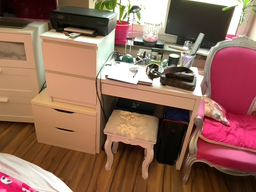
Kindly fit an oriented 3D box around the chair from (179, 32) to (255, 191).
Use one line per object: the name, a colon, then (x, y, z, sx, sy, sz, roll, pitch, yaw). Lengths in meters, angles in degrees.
chair: (0.820, 0.140, 1.670, 0.590, 1.000, 0.810, 12, 32, 9)
